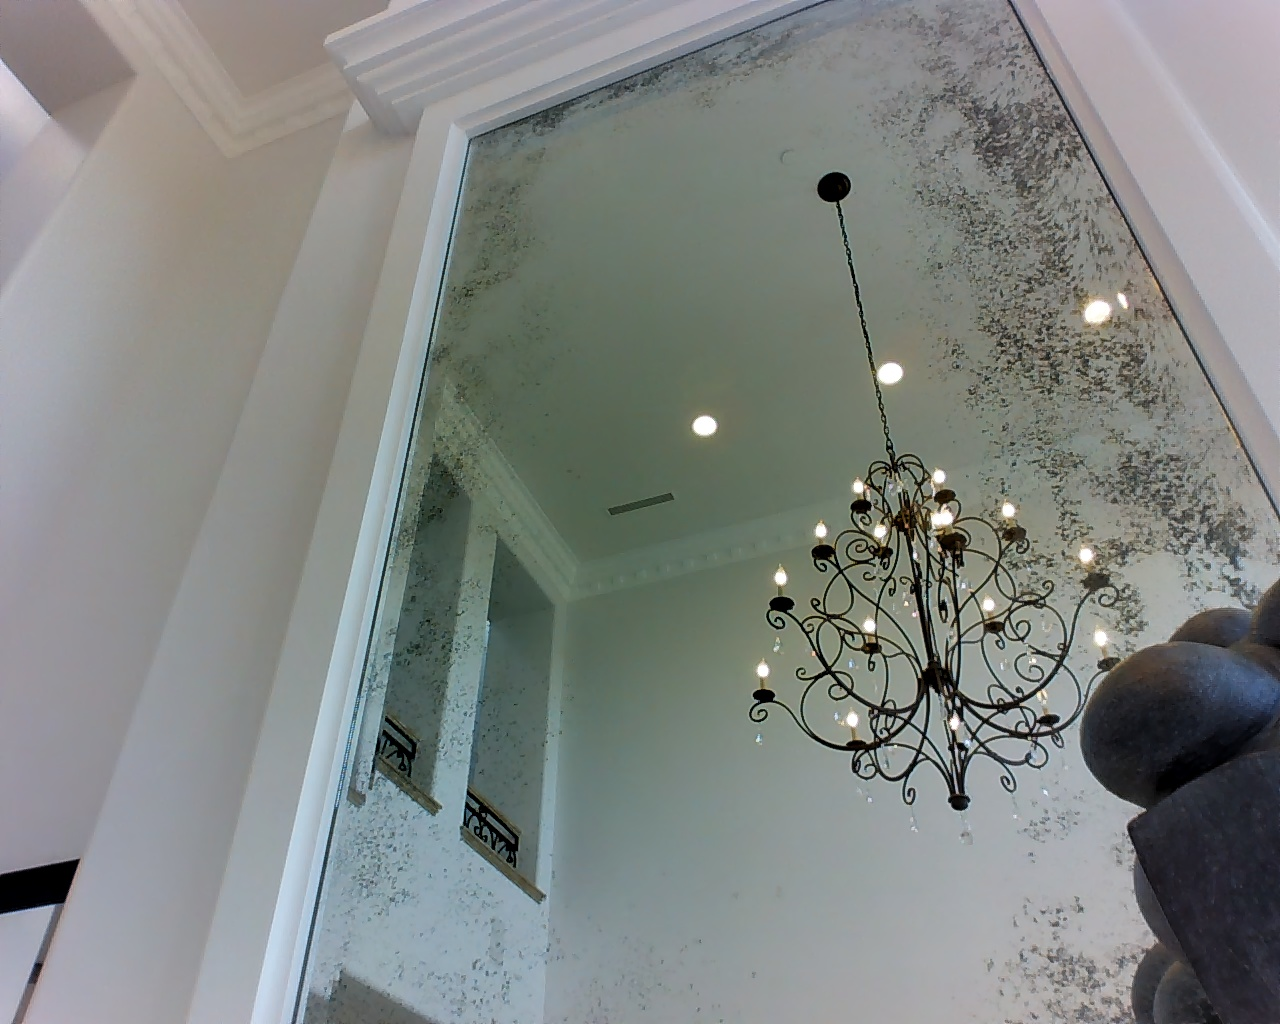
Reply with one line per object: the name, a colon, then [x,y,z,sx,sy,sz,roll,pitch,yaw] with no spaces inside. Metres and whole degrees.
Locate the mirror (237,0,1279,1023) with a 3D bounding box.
mirror: [0.160,-0.230,1.670,1.349,2.411,0.060,-16,-44,18]
